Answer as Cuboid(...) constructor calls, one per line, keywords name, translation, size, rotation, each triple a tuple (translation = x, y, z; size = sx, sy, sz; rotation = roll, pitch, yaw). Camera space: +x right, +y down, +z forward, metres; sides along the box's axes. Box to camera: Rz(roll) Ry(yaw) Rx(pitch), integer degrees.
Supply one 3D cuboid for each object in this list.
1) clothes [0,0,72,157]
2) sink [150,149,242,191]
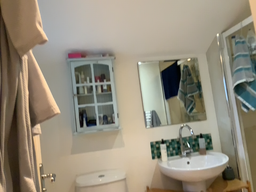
Cuboid(name="clothes", translation=(-0.300, -0.220, 0.700), size=(0.120, 0.760, 0.290), rotation=(-6, -5, -9))
Cuboid(name="sink", translation=(0.520, 0.600, 1.740), size=(0.540, 0.180, 0.470), rotation=(-6, -5, -12))
